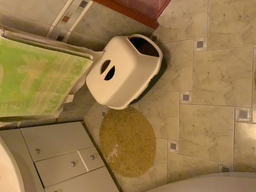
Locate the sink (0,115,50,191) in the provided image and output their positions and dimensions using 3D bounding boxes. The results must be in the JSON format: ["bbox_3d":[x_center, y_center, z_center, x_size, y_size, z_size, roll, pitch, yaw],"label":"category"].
[{"bbox_3d":[-0.750,0.600,1.390,0.480,0.160,0.810,-49,63,27],"label":"sink"}]
